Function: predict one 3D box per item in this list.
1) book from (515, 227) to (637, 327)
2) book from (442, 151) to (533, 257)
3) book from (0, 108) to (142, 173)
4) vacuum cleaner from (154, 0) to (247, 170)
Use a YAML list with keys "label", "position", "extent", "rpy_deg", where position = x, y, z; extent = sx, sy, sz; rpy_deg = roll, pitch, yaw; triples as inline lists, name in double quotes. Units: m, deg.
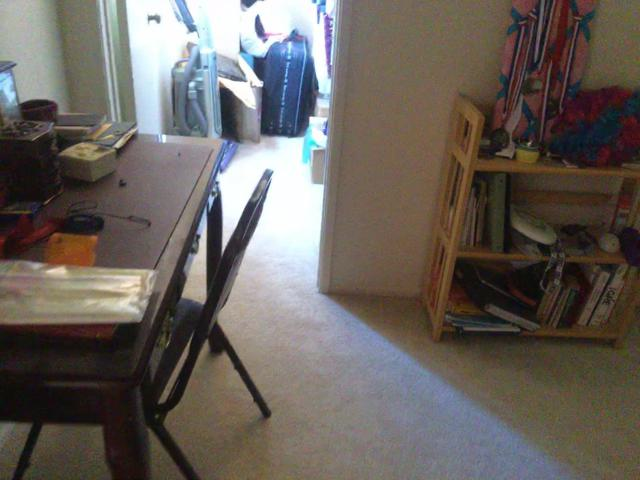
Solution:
- label: "book"
  position: [0.910, 0.130, 2.090]
  extent: [0.290, 0.280, 0.220]
  rpy_deg: [-1, 27, -4]
- label: "book"
  position: [0.540, -0.120, 1.900]
  extent: [0.200, 0.300, 0.170]
  rpy_deg: [-1, 27, -4]
- label: "book"
  position: [-0.640, -0.260, 1.470]
  extent: [0.300, 0.080, 0.290]
  rpy_deg: [-1, 27, -5]
- label: "vacuum cleaner"
  position: [-0.630, -0.980, 3.150]
  extent: [0.400, 1.110, 0.420]
  rpy_deg: [-1, 27, -4]
